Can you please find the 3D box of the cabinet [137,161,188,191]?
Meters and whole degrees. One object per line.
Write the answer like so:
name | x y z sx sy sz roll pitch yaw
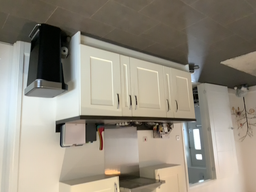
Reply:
cabinet | 0.530 1.320 3.170 0.720 0.580 0.320 6 166 -40

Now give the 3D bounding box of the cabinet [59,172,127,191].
cabinet | -0.380 1.210 2.400 0.700 0.550 0.320 6 166 -40
